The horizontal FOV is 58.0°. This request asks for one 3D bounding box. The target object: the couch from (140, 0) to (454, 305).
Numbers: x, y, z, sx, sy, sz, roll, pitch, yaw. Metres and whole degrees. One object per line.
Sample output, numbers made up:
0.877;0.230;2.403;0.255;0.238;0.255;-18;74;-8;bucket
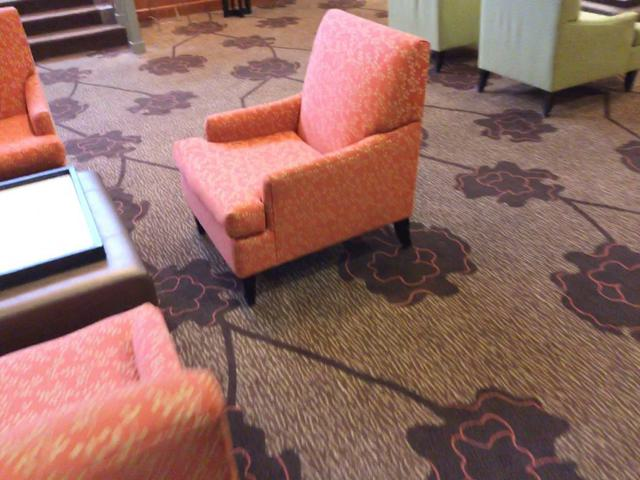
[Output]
-0.090;-0.430;2.380;0.930;0.870;0.730;-20;38;-21;couch
